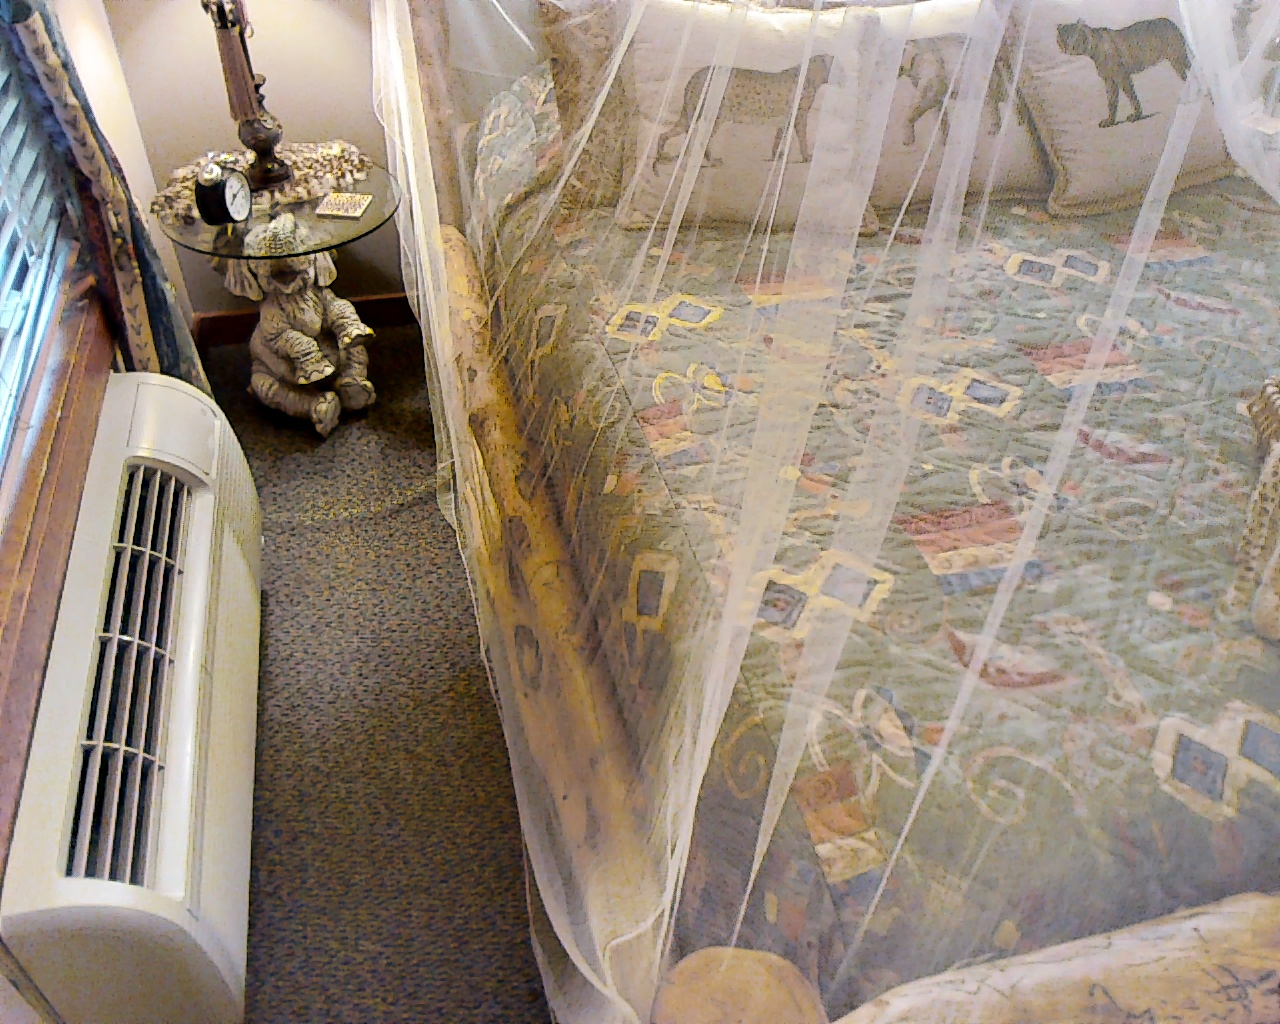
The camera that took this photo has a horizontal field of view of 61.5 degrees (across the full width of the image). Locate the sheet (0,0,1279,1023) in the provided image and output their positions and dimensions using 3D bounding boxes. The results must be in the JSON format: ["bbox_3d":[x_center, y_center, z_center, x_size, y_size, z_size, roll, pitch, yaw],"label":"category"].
[{"bbox_3d":[0.580,-0.710,1.490,2.020,2.320,2.510,-9,42,-10],"label":"sheet"}]

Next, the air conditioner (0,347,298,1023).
[{"bbox_3d":[-0.710,0.260,1.670,0.240,0.510,1.070,-9,42,-10],"label":"air conditioner"}]
